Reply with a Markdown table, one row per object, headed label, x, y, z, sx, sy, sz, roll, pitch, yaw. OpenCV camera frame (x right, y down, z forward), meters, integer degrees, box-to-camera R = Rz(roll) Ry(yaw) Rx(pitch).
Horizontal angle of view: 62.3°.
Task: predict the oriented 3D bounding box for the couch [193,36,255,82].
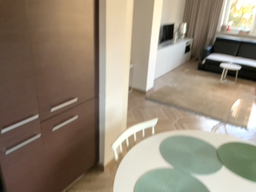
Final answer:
| label | x | y | z | sx | sy | sz | roll | pitch | yaw |
| --- | --- | --- | --- | --- | --- | --- | --- | --- | --- |
| couch | 3.080 | -0.930 | 5.410 | 2.440 | 0.820 | 0.940 | 17 | 27 | 29 |
